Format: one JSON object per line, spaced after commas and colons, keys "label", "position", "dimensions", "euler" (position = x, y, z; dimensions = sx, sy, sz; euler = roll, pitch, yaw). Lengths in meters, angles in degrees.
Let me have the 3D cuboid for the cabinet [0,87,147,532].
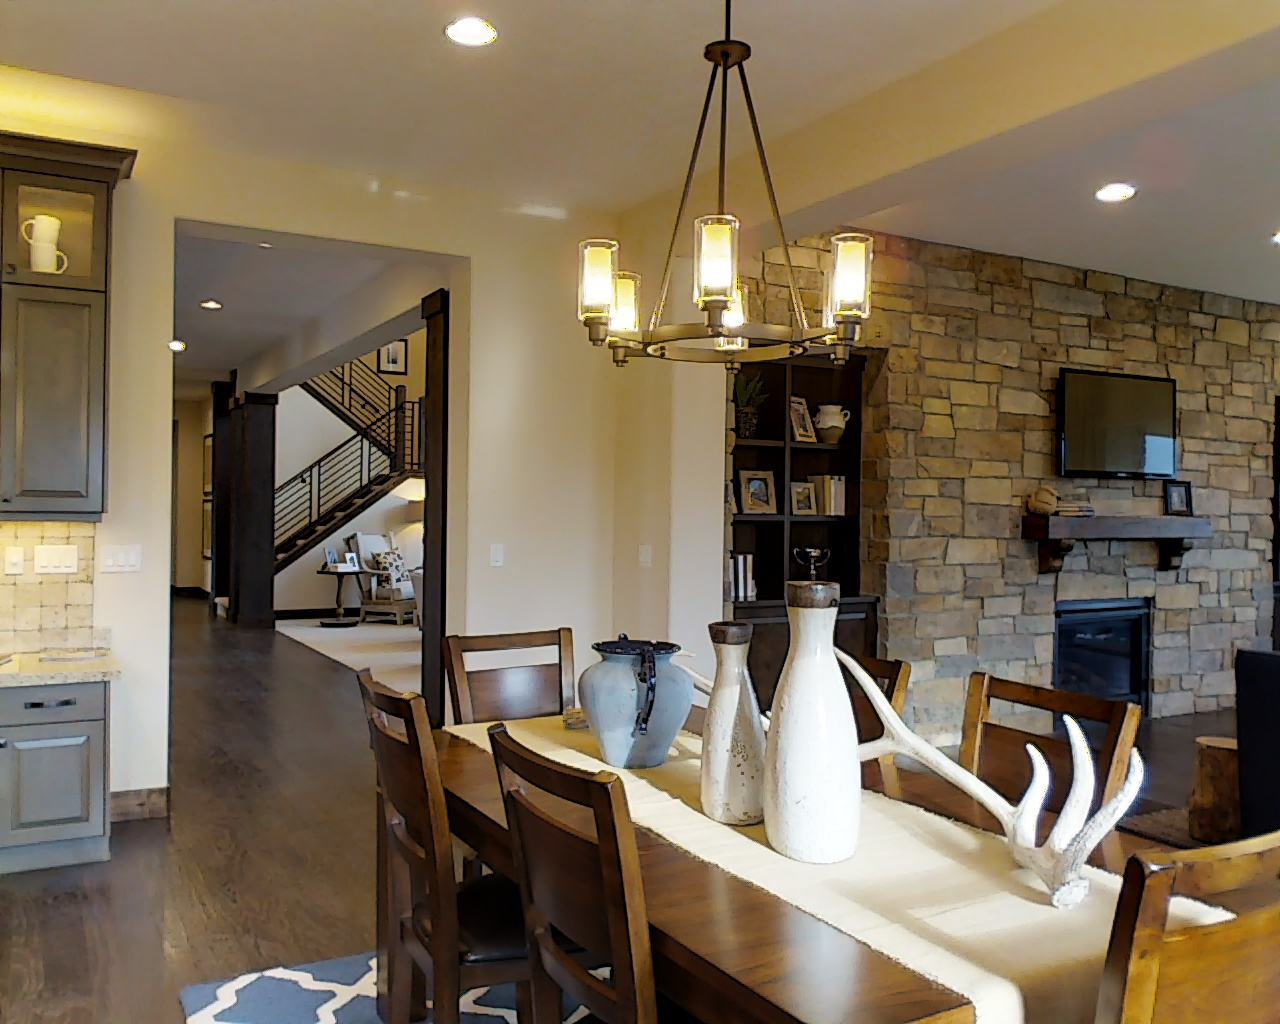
{"label": "cabinet", "position": [-2.750, -0.780, 4.200], "dimensions": [1.430, 1.710, 0.430], "euler": [1, 0, -30]}
